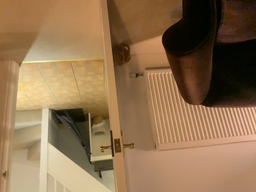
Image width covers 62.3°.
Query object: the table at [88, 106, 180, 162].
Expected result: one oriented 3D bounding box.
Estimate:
[{"bbox_3d":[0.060,0.670,3.750,1.460,0.760,0.510,-4,159,-8],"label":"table"}]
